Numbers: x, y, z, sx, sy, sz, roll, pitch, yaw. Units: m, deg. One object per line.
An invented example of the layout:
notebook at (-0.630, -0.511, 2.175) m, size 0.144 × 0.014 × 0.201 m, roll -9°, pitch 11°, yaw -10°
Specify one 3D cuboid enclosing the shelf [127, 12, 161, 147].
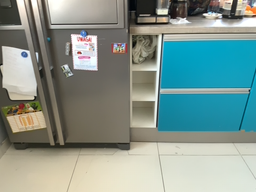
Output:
shelf at (0.100, -0.170, 1.760) m, size 0.200 × 0.910 × 0.720 m, roll 0°, pitch 28°, yaw 1°
